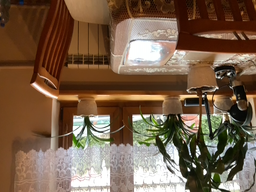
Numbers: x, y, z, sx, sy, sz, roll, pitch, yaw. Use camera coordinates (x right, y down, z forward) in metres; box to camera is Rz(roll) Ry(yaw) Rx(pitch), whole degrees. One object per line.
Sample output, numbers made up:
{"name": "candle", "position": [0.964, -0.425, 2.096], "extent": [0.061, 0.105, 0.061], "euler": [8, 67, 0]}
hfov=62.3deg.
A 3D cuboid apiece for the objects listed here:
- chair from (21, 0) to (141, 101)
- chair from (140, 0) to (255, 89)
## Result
{"name": "chair", "position": [-0.230, -0.490, 1.290], "extent": [0.560, 0.980, 0.420], "euler": [-1, 169, -1]}
{"name": "chair", "position": [0.290, -0.560, 1.020], "extent": [0.390, 0.960, 0.530], "euler": [0, 169, -5]}
